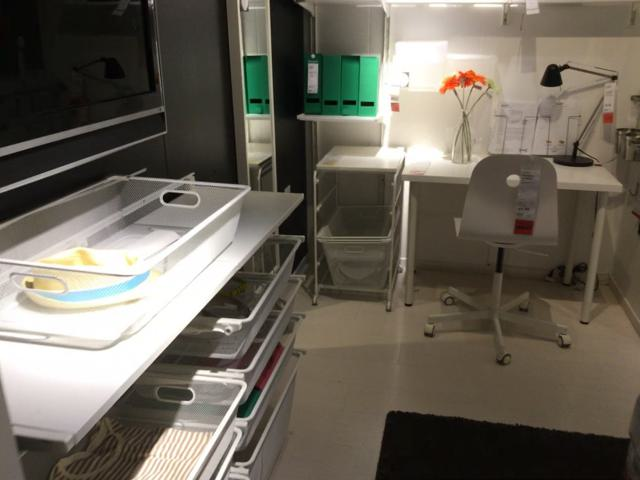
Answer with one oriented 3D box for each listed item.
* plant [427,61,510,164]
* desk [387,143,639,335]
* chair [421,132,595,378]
[{"bbox_3d":[0.760,-0.660,2.950,0.350,0.460,0.380,4,21,20],"label":"plant"},{"bbox_3d":[0.950,-0.060,2.980,1.080,0.750,0.620,4,21,20],"label":"desk"},{"bbox_3d":[0.830,0.020,2.610,0.620,0.900,0.630,4,21,20],"label":"chair"}]
